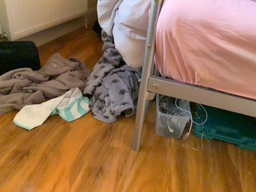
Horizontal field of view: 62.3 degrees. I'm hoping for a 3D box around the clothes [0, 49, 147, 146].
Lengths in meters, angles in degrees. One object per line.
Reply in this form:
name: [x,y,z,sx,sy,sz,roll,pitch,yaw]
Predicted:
clothes: [-0.420,-0.050,1.120,0.840,0.140,0.590,-10,36,-26]
